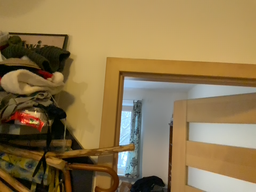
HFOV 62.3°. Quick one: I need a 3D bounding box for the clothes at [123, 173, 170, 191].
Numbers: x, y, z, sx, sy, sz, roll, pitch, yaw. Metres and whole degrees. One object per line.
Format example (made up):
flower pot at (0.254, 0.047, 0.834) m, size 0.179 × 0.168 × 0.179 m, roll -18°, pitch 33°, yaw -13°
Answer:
clothes at (0.320, 1.820, 4.000) m, size 0.840 × 0.550 × 0.360 m, roll 4°, pitch -7°, yaw 1°
